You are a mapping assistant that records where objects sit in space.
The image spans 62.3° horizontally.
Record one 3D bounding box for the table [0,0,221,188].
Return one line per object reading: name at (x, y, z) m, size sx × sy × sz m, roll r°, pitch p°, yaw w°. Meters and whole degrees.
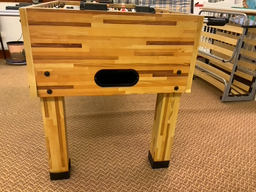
table at (-0.210, -0.250, 1.660) m, size 0.900 × 0.930 × 1.460 m, roll -1°, pitch 25°, yaw -11°
